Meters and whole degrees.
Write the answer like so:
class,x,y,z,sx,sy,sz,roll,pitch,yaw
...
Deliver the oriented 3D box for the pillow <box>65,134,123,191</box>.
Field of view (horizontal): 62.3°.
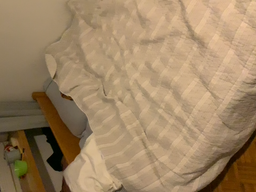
class,x,y,z,sx,sy,sz,roll,pitch,yaw
pillow,-0.210,0.440,1.180,0.310,0.140,0.320,57,131,42
